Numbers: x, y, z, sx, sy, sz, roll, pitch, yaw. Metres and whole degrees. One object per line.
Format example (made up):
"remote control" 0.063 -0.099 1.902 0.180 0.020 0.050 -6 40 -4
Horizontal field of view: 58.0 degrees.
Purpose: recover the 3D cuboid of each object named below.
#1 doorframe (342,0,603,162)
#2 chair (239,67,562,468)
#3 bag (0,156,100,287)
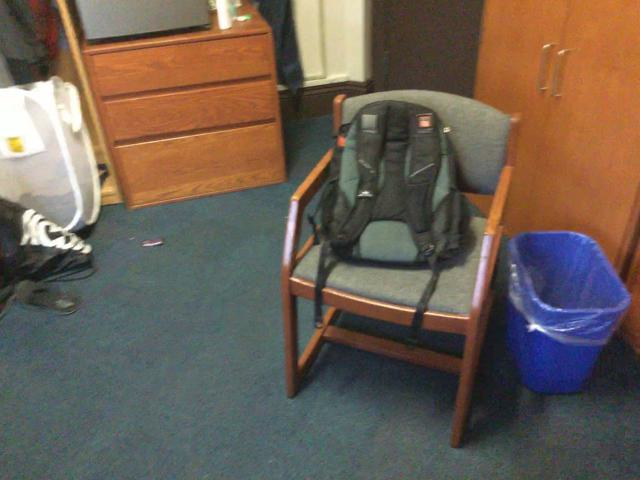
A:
"doorframe" 0.690 -1.450 2.560 1.190 2.090 0.250 16 39 22
"chair" 0.250 0.030 1.690 0.600 0.780 0.710 16 39 22
"bag" -1.090 -0.070 2.200 0.340 0.390 0.280 -3 36 -3
